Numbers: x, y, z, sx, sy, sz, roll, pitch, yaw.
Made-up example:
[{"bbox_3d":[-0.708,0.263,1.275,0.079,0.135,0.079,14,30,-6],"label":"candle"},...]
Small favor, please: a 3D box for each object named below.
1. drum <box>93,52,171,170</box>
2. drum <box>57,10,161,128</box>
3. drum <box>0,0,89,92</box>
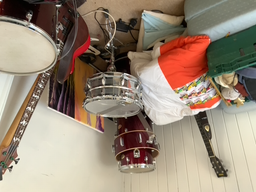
[{"bbox_3d":[0.050,0.160,1.890,0.450,0.880,0.470,-15,149,29],"label":"drum"},{"bbox_3d":[-0.110,-0.150,1.530,0.510,0.580,0.460,-15,150,28],"label":"drum"},{"bbox_3d":[-0.540,-0.440,1.060,0.540,0.630,0.390,-14,150,28],"label":"drum"}]
